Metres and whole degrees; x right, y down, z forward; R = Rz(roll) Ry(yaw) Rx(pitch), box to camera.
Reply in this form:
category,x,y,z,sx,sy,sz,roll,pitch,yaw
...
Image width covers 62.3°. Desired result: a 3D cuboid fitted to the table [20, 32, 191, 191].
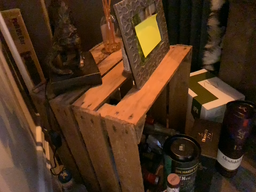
category,x,y,z,sx,sy,sz,roll,pitch,yaw
table,-0.010,0.110,0.760,0.310,0.510,0.430,14,41,25
